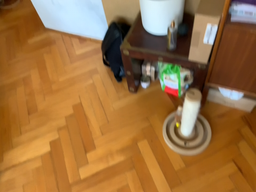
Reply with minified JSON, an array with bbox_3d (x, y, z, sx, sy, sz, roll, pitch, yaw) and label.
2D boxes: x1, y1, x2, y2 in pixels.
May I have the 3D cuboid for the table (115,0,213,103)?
[{"bbox_3d":[0.250,-0.310,1.500,0.490,0.520,0.360,19,61,19],"label":"table"}]
